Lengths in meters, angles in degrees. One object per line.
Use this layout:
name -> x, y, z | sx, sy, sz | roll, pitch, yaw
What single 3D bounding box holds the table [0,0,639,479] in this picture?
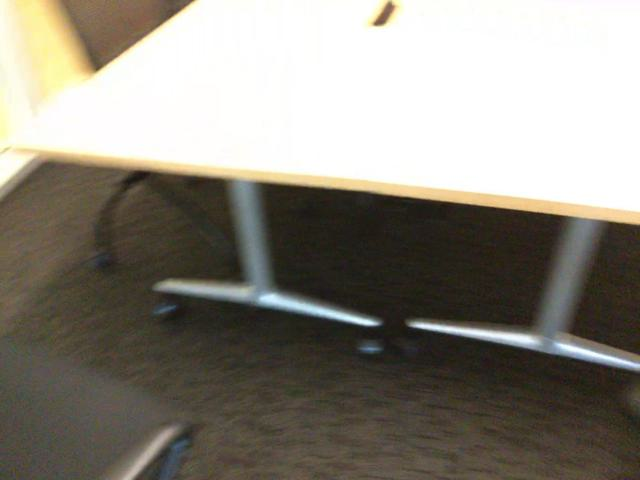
table -> 0.390, -0.530, 1.960 | 1.650, 0.800, 2.220 | 5, 40, 16
